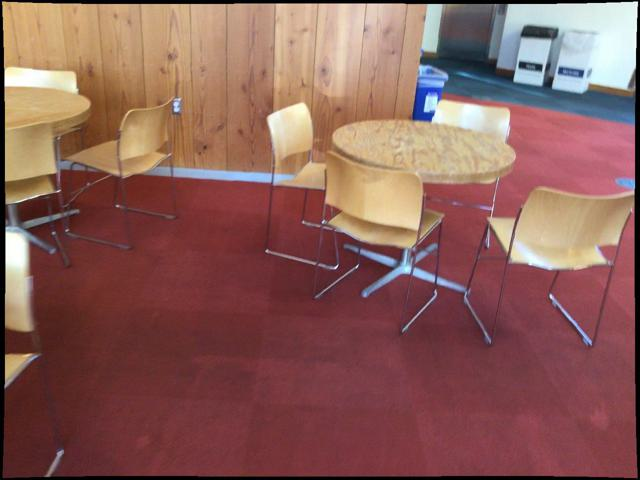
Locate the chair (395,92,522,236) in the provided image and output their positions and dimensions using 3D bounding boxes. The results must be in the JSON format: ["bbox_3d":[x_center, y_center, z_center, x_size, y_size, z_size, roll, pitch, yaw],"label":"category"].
[{"bbox_3d":[0.859,-0.490,3.600,0.629,0.721,0.450,10,25,17],"label":"chair"}]

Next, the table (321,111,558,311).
[{"bbox_3d":[0.509,-0.190,2.990,0.939,0.741,0.880,1,24,-3],"label":"table"}]

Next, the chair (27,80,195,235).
[{"bbox_3d":[-1.119,-0.480,3.210,0.629,0.671,0.530,9,25,14],"label":"chair"}]

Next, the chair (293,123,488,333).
[{"bbox_3d":[0.310,-0.100,2.680,0.620,0.691,0.590,20,29,33],"label":"chair"}]

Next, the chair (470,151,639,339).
[{"bbox_3d":[1.029,0.010,2.570,0.490,0.681,0.500,1,24,-3],"label":"chair"}]

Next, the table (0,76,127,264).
[{"bbox_3d":[-1.668,-0.420,3.090,0.939,0.731,0.940,1,24,-3],"label":"table"}]

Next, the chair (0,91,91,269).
[{"bbox_3d":[-1.538,-0.310,2.800,0.580,0.661,0.670,-14,29,-33],"label":"chair"}]

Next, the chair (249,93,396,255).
[{"bbox_3d":[0.010,-0.390,3.190,0.639,0.691,0.490,12,26,20],"label":"chair"}]
